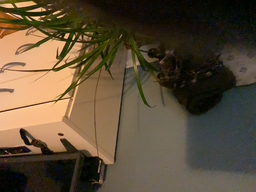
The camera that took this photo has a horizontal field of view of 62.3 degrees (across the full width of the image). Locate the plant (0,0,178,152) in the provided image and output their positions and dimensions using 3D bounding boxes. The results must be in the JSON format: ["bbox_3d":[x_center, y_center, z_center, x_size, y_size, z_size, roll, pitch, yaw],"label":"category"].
[{"bbox_3d":[-0.060,-0.320,0.690,0.370,0.830,0.520,-4,142,11],"label":"plant"}]
